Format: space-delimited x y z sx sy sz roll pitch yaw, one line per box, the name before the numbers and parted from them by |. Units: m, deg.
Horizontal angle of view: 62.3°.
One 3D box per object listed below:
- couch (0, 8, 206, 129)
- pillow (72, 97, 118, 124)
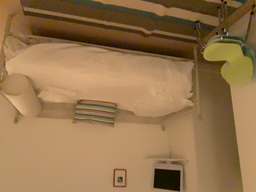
couch | -0.310 -0.150 2.630 2.090 0.880 1.100 6 163 -16
pillow | -0.460 0.200 2.900 0.590 0.280 0.230 1 152 -15
